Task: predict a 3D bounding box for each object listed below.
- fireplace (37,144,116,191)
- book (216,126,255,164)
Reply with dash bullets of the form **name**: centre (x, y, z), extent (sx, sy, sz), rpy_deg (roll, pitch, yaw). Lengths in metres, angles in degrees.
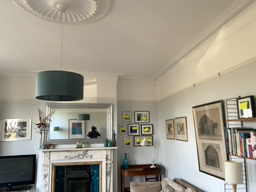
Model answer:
- **fireplace**: centre (-1.190, 1.860, 5.090), extent (1.750, 1.280, 0.460), rpy_deg (1, -8, -10)
- **book**: centre (1.220, 0.490, 2.220), extent (0.200, 0.340, 0.700), rpy_deg (1, -8, -9)
